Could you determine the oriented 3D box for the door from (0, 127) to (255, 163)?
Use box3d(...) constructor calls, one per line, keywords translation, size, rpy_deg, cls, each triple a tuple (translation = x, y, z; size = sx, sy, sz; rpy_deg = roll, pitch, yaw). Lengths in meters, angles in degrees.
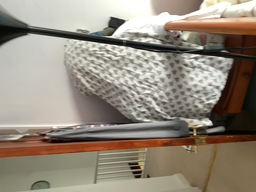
box3d(translation=(0.100, 0.280, 1.410), size=(0.770, 1.940, 0.050), rpy_deg=(164, 106, -71), cls="door")
